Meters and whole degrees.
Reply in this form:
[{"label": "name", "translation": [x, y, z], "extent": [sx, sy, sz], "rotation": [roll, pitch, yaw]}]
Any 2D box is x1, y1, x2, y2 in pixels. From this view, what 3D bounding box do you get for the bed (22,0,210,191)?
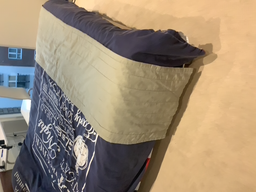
[{"label": "bed", "translation": [-0.410, 0.310, 1.950], "extent": [1.430, 0.590, 2.000], "rotation": [38, 120, 43]}]
